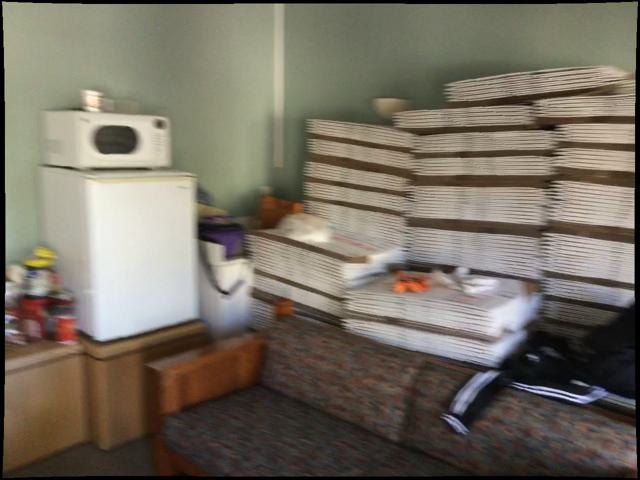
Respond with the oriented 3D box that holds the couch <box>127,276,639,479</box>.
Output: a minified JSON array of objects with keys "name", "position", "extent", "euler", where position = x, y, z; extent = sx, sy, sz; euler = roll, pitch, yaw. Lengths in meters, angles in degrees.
[{"name":"couch","position":[0.220,0.831,2.230],"extent":[1.919,0.821,0.980],"euler":[13,18,41]}]
